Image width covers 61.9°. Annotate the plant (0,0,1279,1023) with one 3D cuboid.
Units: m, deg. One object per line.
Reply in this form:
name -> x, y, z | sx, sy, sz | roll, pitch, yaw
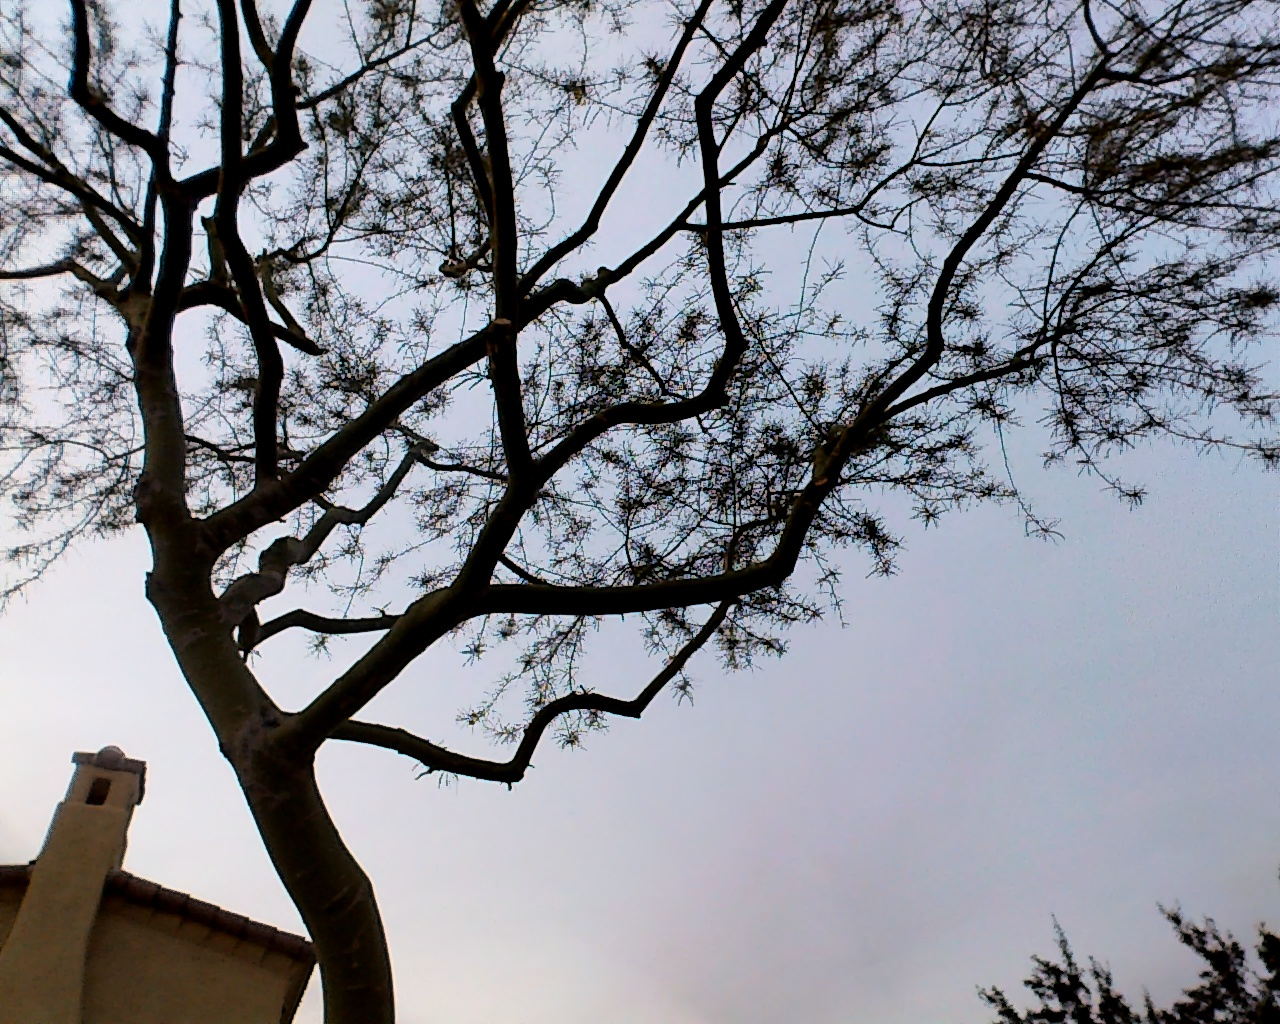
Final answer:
plant -> -1.020, 0.430, 2.340 | 5.228, 4.751, 4.840 | 12, -41, -15
